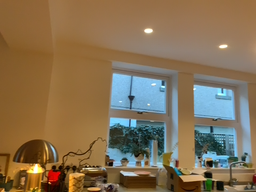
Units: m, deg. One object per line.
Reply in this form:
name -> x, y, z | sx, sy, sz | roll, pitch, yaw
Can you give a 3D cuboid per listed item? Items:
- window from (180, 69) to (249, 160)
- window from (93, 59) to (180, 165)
window -> 1.480, 0.340, 3.680 | 1.080, 1.430, 0.360 | 6, -11, -14
window -> 0.170, 0.270, 3.280 | 1.250, 1.460, 0.290 | 7, -12, -17
